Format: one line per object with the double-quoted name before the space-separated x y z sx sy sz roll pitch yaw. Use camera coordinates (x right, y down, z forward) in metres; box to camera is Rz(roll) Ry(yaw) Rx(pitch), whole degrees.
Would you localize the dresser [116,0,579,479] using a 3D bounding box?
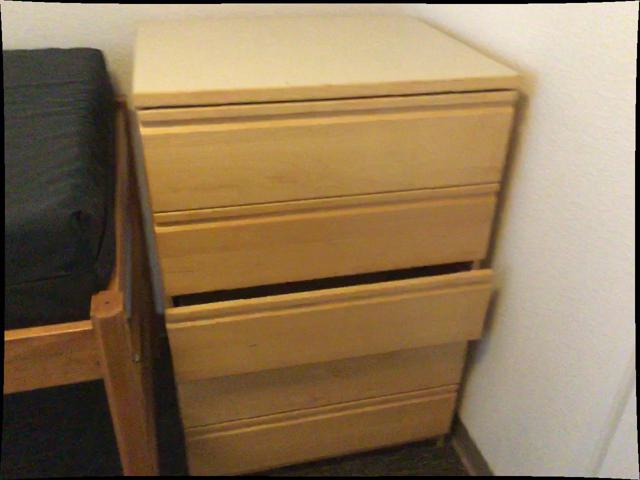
"dresser" -0.070 0.020 1.640 0.869 1.191 0.810 -4 31 -17
